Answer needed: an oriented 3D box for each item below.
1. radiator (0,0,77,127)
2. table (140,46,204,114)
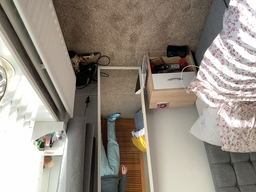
[{"bbox_3d":[-0.460,-0.350,1.140,0.100,0.570,1.260,-5,149,-3],"label":"radiator"},{"bbox_3d":[0.350,-0.130,1.890,0.420,0.400,0.430,-5,149,-3],"label":"table"}]
